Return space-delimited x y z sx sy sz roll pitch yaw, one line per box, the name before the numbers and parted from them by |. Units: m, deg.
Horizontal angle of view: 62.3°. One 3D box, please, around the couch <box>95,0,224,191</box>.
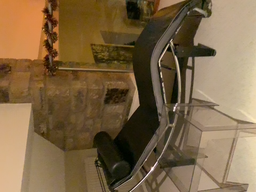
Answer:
couch | 0.150 0.000 1.730 0.610 0.660 1.400 -139 52 -65
